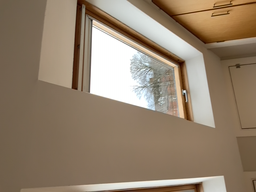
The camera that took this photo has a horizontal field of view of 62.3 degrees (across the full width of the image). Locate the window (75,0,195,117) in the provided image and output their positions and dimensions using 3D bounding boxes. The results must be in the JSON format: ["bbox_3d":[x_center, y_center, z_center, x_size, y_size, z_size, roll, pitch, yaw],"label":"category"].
[{"bbox_3d":[0.150,-0.230,1.770,0.100,1.310,0.680,-19,68,40],"label":"window"}]
